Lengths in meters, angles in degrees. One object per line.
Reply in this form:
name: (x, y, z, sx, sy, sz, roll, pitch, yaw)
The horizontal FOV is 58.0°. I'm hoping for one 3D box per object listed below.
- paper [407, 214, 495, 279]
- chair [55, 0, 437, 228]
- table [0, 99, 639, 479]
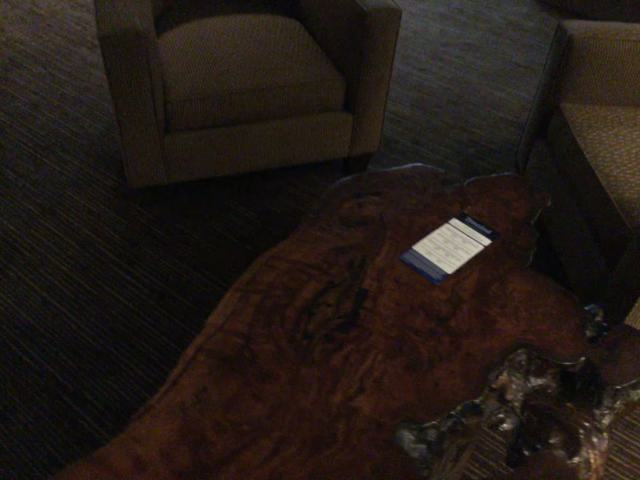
paper: (0.270, 0.010, 1.190, 0.150, 0.010, 0.110, -30, 54, -31)
chair: (-0.300, -0.740, 1.910, 0.960, 0.830, 0.960, -11, 46, -16)
table: (0.060, 0.420, 1.040, 0.910, 0.460, 1.650, 29, 49, 24)
